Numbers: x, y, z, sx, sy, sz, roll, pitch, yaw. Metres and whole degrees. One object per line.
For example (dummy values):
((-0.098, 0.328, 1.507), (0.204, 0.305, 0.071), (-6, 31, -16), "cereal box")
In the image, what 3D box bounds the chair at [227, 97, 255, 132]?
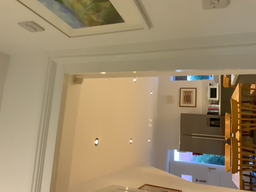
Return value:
((1.900, 0.290, 3.100), (0.530, 0.790, 0.380), (44, -130, -62), "chair")
